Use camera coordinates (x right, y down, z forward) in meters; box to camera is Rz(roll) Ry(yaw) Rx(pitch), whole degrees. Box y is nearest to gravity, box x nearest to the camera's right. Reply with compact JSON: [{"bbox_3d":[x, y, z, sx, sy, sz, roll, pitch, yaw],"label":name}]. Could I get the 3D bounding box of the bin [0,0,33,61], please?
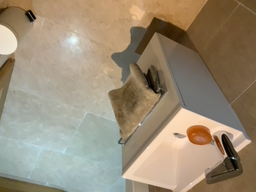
[{"bbox_3d":[-0.660,-0.380,1.140,0.160,0.270,0.230,22,125,-20],"label":"bin"}]
